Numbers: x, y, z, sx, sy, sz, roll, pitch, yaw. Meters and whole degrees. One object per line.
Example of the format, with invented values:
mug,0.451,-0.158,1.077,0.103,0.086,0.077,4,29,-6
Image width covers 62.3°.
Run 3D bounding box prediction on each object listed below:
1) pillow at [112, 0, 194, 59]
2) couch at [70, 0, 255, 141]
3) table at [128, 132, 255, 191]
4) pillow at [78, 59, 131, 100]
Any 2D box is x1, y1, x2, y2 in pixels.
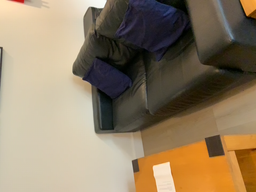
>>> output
pillow,0.130,-0.450,1.460,0.470,0.430,0.200,126,139,-75
couch,0.130,-0.280,1.810,1.830,0.830,0.950,-39,54,56
table,0.460,0.630,1.510,1.040,0.460,0.510,-40,53,56
pillow,-0.210,-0.140,2.160,0.530,0.430,0.250,73,-172,-82
